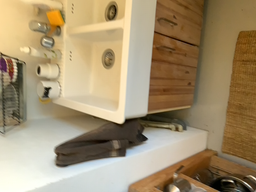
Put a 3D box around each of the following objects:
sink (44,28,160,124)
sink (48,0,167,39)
[{"bbox_3d":[-0.200,-0.140,1.200,0.730,0.200,0.400,13,100,42],"label":"sink"},{"bbox_3d":[-0.150,-0.540,1.150,0.740,0.200,0.410,13,100,42],"label":"sink"}]
